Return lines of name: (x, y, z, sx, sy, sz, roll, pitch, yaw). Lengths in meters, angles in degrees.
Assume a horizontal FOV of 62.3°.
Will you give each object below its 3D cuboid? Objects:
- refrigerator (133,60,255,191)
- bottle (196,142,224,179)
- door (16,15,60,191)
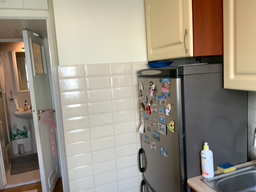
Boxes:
refrigerator: (0.500, 0.530, 1.700, 0.660, 1.550, 0.610, -6, 8, -19)
bottle: (0.510, 0.400, 1.320, 0.150, 0.180, 0.070, -6, 8, -19)
door: (-1.120, 0.200, 2.770, 0.100, 2.230, 0.820, -5, 8, -9)
